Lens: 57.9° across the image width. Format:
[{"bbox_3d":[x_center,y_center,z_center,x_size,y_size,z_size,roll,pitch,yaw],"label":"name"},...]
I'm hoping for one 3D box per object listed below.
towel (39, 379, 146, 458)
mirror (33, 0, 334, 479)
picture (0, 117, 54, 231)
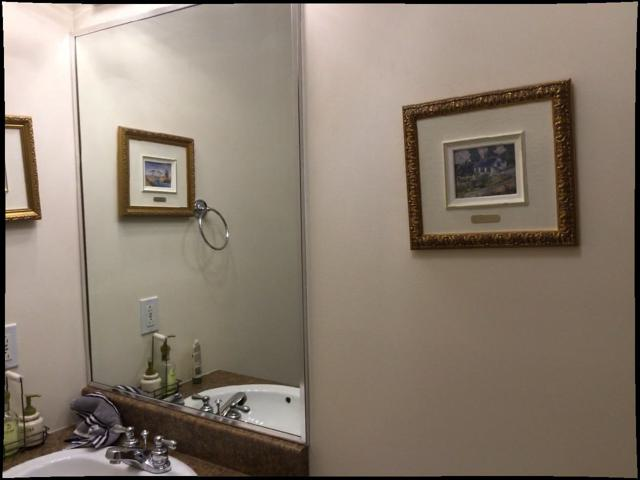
[{"bbox_3d":[-0.609,0.470,1.550,0.240,0.110,0.150,4,8,33],"label":"towel"},{"bbox_3d":[-0.360,-0.070,1.440,0.809,1.211,0.190,4,8,33],"label":"mirror"},{"bbox_3d":[-0.829,-0.160,1.410,0.040,0.280,0.350,4,8,33],"label":"picture"}]
